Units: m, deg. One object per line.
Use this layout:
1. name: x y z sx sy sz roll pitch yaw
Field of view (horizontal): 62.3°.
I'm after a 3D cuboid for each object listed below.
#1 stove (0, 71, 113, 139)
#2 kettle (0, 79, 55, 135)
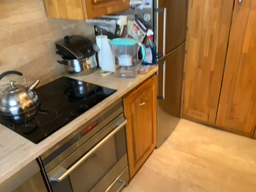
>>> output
1. stove: -0.480 0.000 1.270 0.540 0.010 0.590 15 33 30
2. kettle: -0.620 0.050 1.220 0.280 0.180 0.220 15 33 30
